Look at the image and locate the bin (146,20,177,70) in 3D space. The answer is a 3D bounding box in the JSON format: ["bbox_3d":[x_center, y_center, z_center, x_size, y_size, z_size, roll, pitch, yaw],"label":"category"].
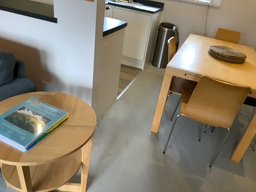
[{"bbox_3d":[0.560,-0.870,3.610,0.300,0.730,0.310,19,32,16],"label":"bin"}]
